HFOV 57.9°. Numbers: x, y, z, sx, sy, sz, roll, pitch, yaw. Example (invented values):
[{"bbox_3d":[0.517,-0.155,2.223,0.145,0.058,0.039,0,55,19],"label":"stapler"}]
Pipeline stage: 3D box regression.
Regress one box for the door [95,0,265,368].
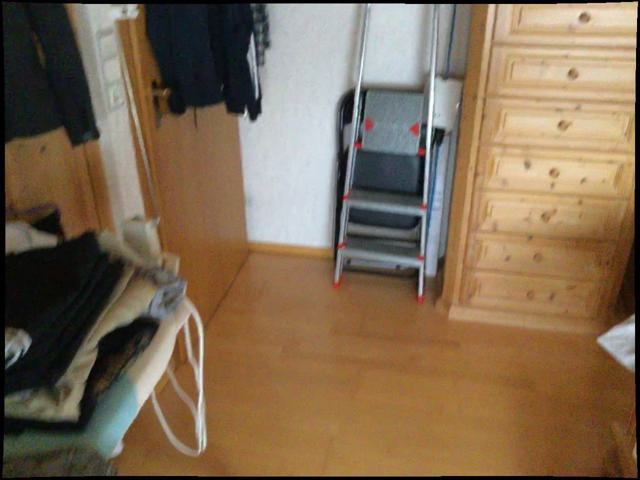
[{"bbox_3d":[-0.470,-0.601,2.210,0.080,1.971,1.000,5,30,12],"label":"door"}]
